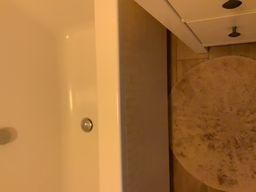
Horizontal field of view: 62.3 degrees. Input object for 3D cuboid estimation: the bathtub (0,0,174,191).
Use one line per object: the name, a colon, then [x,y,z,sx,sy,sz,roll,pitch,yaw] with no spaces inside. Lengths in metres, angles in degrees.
bathtub: [-0.220,0.170,1.000,0.740,0.550,1.650,0,92,26]
